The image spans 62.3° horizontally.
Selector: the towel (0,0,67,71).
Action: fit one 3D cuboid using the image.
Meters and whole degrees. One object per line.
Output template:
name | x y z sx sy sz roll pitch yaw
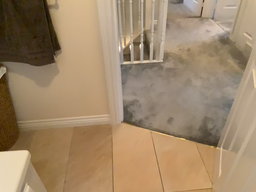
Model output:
towel | -0.630 -0.340 1.140 0.500 0.390 0.120 -5 39 -4
